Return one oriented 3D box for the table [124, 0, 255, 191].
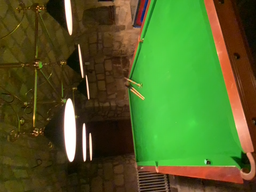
[{"bbox_3d":[0.640,-0.020,2.610,3.240,0.910,1.700,111,154,-72],"label":"table"}]
